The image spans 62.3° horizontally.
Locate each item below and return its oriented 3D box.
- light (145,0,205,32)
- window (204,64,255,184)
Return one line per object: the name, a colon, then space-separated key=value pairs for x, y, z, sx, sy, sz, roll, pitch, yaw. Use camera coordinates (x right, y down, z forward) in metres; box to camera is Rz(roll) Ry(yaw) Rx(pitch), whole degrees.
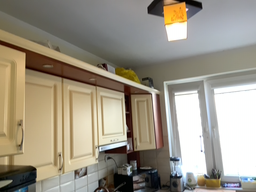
light: x=0.290 y=-0.570 z=1.330 sx=0.180 sy=0.260 sz=0.320 roll=1 pitch=23 yaw=-27
window: x=1.530 y=0.340 z=2.680 sx=0.910 sy=1.450 sz=0.130 roll=-7 pitch=-9 yaw=26
